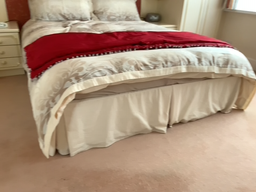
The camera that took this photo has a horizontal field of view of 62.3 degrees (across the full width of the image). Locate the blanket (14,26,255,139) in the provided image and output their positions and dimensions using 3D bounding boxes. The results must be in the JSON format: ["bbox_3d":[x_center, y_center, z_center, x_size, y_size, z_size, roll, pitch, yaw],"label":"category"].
[{"bbox_3d":[0.140,-0.260,1.790,1.860,0.510,0.600,-11,30,-27],"label":"blanket"}]
